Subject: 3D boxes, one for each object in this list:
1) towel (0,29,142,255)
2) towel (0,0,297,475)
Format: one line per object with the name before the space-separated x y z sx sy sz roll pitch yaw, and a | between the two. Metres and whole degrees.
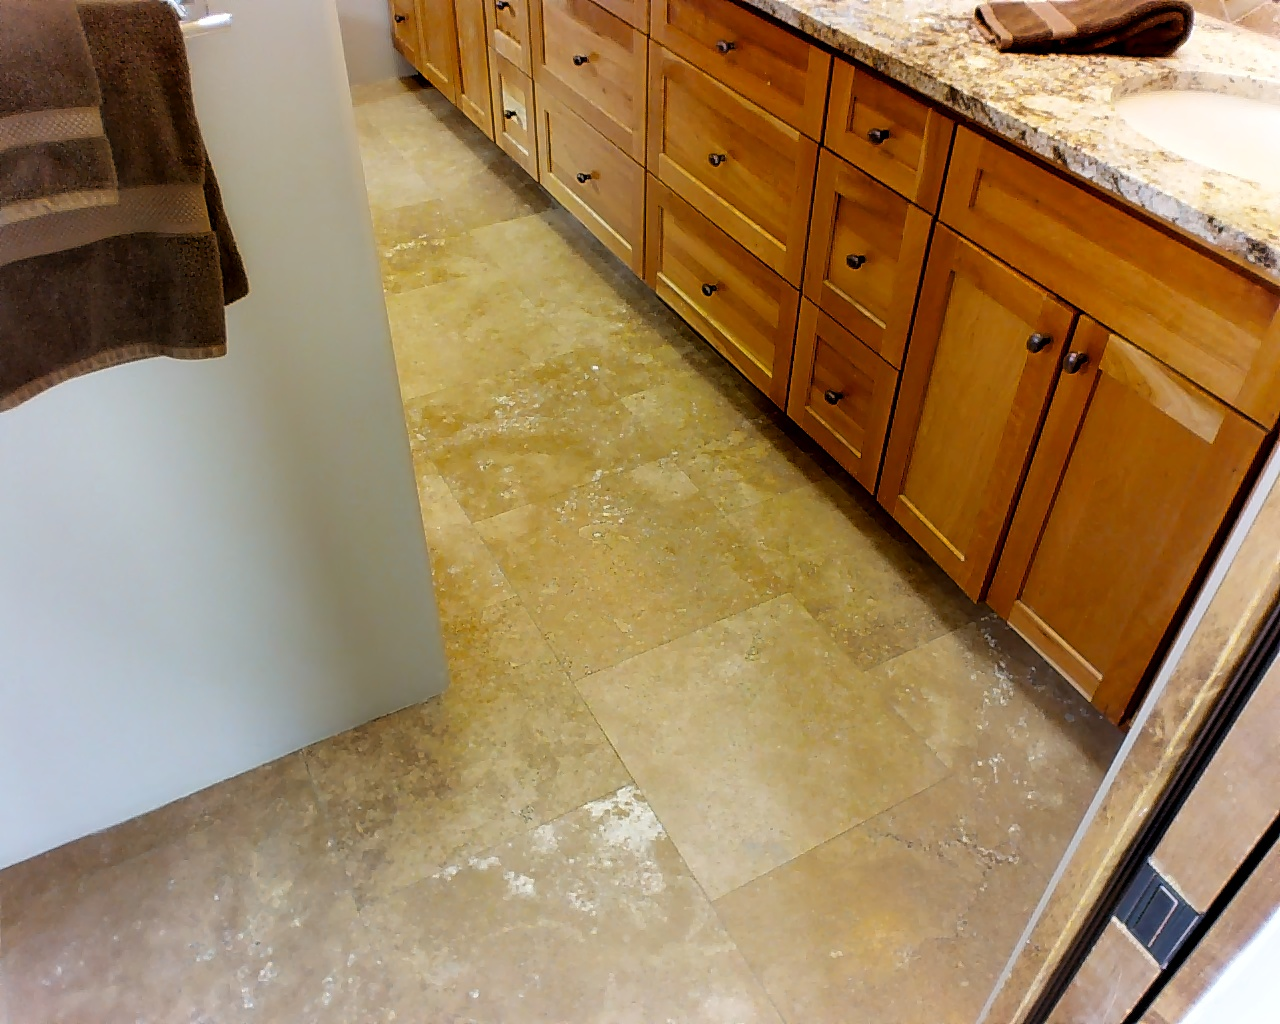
towel | -0.510 -0.310 0.900 0.120 0.150 0.060 -20 46 -22
towel | -0.540 -0.270 1.010 0.310 0.380 0.170 -20 46 -22
